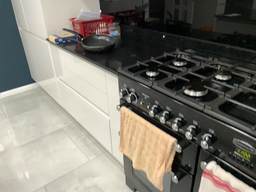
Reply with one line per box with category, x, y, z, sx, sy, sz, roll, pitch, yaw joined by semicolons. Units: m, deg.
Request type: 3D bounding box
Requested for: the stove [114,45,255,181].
stove;0.460;-0.020;1.060;0.650;0.170;0.900;-23;35;-32
